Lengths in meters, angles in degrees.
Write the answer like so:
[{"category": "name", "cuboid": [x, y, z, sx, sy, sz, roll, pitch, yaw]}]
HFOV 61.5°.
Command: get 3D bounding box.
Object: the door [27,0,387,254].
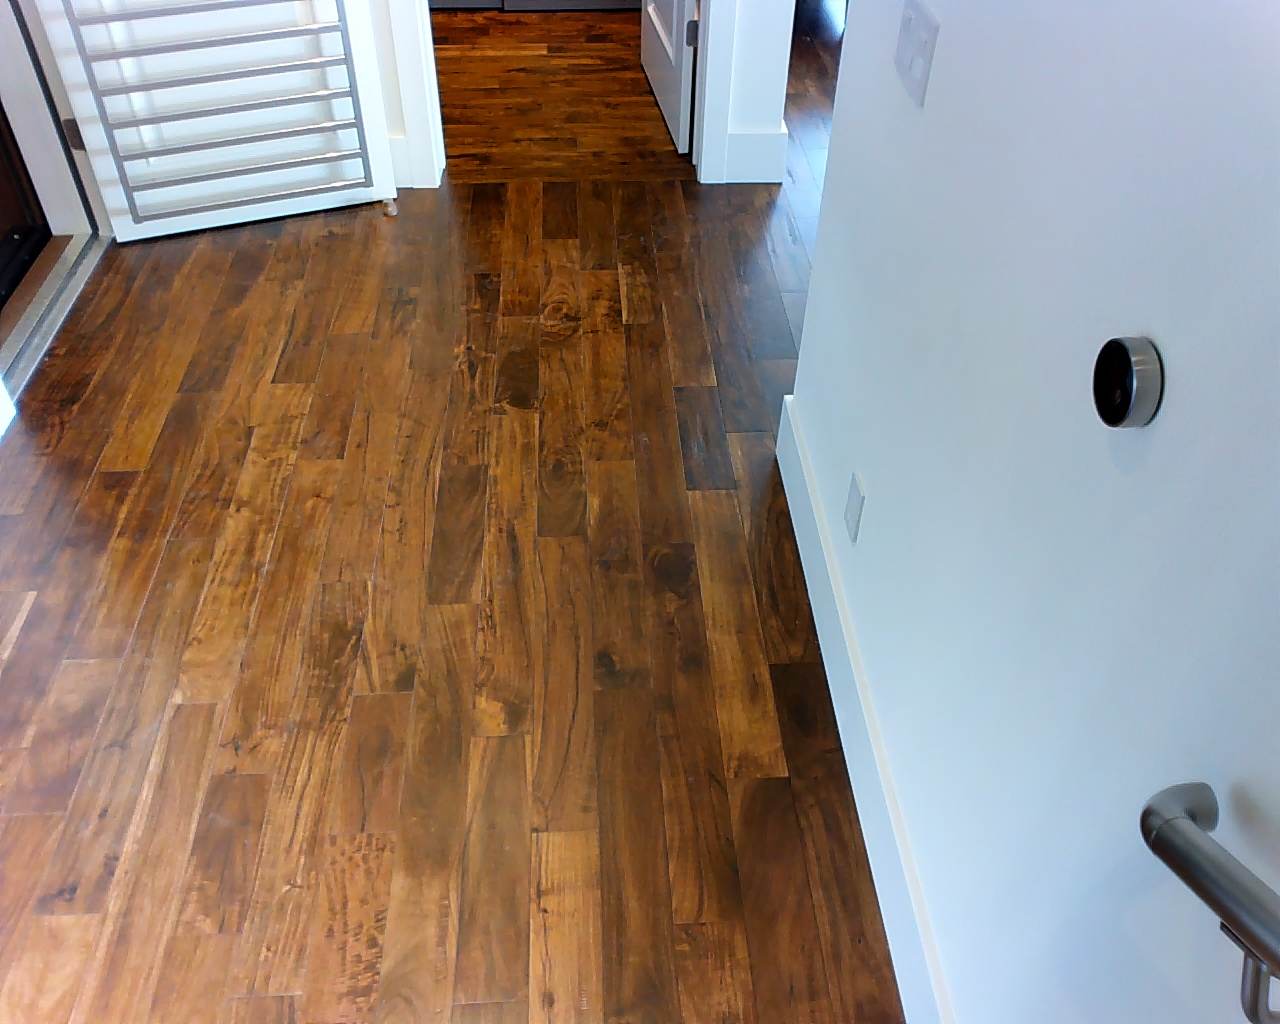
[{"category": "door", "cuboid": [-1.260, -1.740, 2.810, 0.850, 2.140, 0.120, -15, 45, -16]}]
